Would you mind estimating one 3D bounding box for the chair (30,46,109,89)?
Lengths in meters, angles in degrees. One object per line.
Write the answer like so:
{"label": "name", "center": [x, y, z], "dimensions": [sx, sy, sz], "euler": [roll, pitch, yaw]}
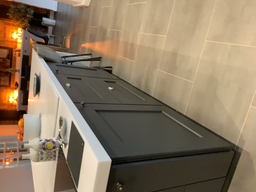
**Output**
{"label": "chair", "center": [-0.800, -0.380, 2.880], "dimensions": [0.460, 0.920, 0.430], "euler": [29, 112, 58]}
